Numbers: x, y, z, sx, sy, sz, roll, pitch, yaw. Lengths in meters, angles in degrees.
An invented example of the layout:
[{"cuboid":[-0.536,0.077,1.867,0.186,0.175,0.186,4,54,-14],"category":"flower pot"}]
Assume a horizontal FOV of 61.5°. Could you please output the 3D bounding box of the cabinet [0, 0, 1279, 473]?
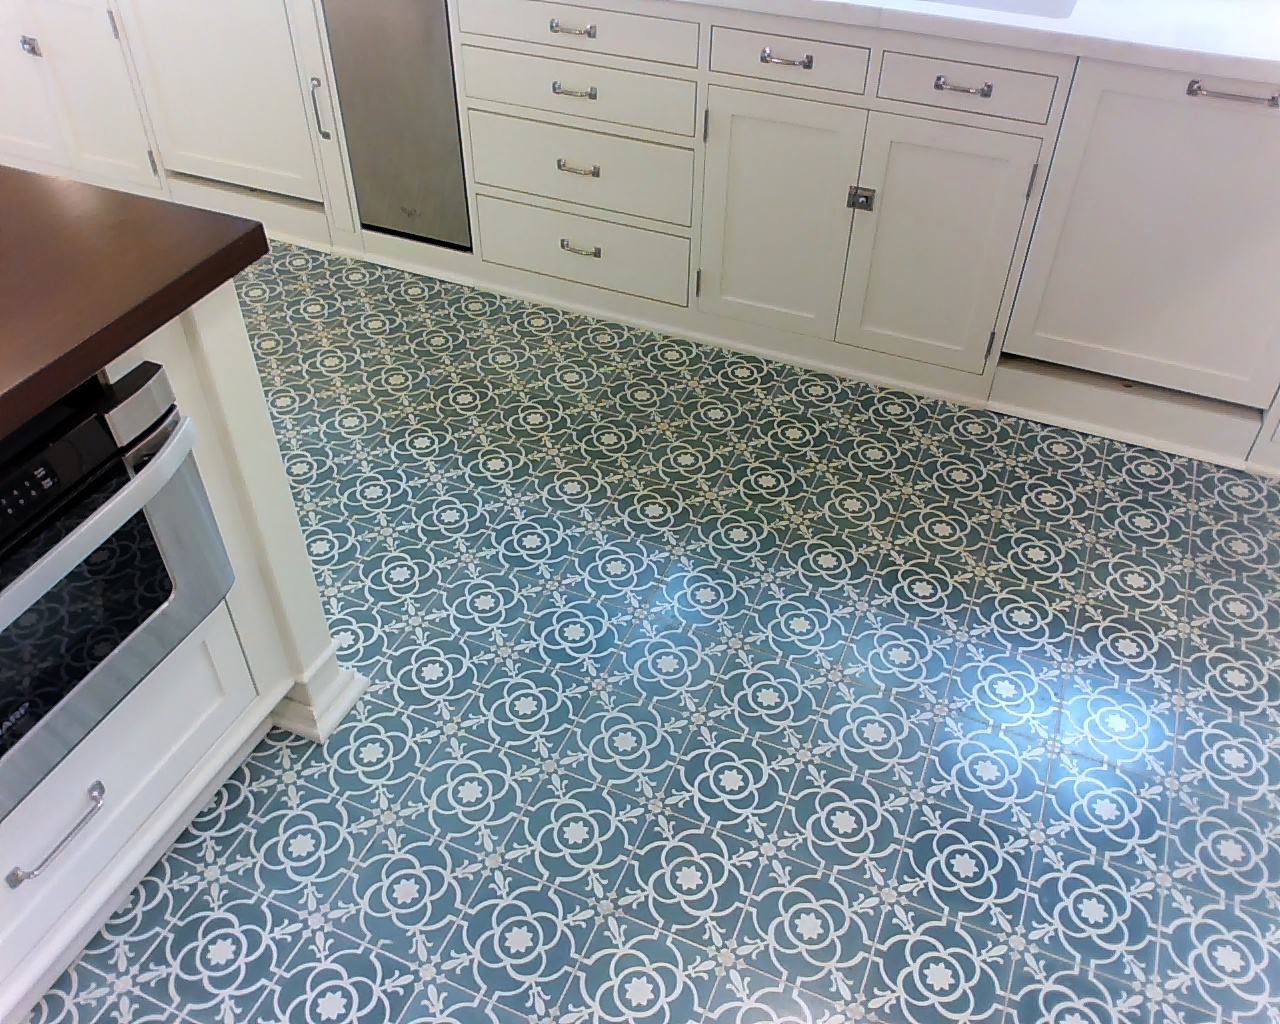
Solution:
[{"cuboid":[0.000,-0.860,2.720,5.930,0.820,0.070,16,44,17],"category":"cabinet"}]
